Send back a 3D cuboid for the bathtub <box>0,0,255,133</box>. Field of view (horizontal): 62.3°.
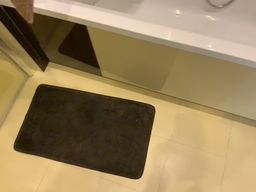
[{"bbox_3d":[0.340,-0.360,1.110,1.660,0.580,0.710,17,70,9],"label":"bathtub"}]
